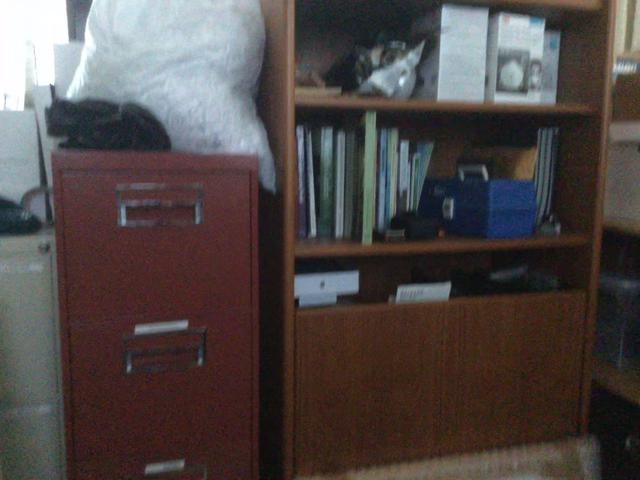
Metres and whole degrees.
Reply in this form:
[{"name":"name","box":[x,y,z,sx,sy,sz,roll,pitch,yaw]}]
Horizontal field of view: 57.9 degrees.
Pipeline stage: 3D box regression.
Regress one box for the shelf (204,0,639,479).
[{"name":"shelf","box":[0.220,0.290,1.590,0.940,1.920,0.800,-1,7,-19]}]

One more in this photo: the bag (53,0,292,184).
[{"name":"bag","box":[-0.310,-0.370,1.230,0.440,0.490,0.270,-1,7,-19]}]
